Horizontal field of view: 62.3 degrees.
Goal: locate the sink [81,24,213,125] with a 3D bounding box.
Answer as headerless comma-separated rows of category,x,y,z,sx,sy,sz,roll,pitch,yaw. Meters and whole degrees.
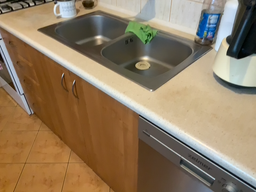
sink,0.090,-0.140,0.980,0.380,0.170,0.440,31,48,32

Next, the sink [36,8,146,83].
sink,-0.190,-0.310,1.180,0.380,0.170,0.440,31,48,32

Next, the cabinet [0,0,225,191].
cabinet,-0.190,-0.040,1.400,1.190,0.860,0.590,31,48,32
